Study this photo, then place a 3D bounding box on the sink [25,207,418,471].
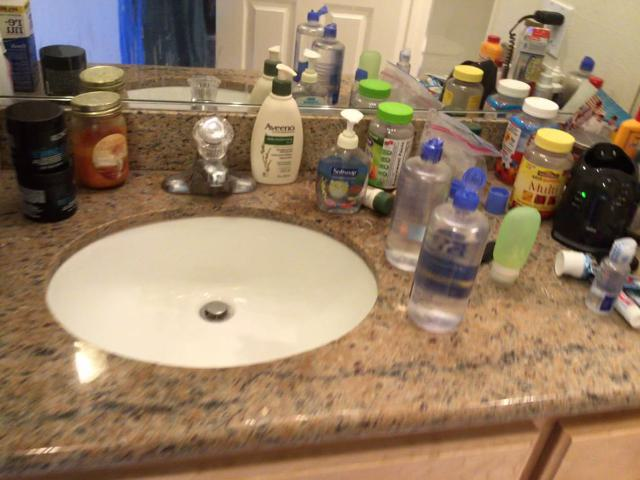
[{"bbox_3d":[-0.130,0.110,0.810,0.420,0.160,0.340,0,32,-12],"label":"sink"}]
